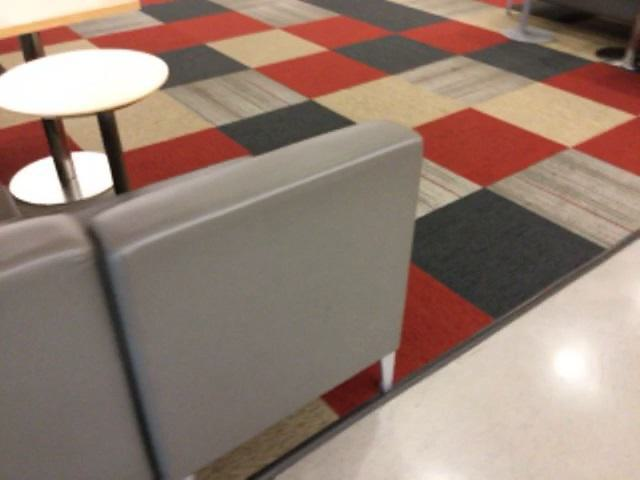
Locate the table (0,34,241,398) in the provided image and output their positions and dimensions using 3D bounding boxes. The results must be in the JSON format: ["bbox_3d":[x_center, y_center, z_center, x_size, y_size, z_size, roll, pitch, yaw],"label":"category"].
[{"bbox_3d":[-0.610,-0.080,1.680,0.540,0.750,0.560,-22,50,-29],"label":"table"}]

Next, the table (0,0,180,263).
[{"bbox_3d":[-1.070,-0.540,2.220,0.730,0.780,0.700,-29,54,-34],"label":"table"}]
